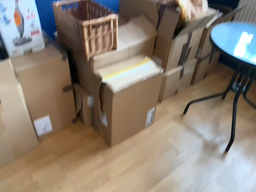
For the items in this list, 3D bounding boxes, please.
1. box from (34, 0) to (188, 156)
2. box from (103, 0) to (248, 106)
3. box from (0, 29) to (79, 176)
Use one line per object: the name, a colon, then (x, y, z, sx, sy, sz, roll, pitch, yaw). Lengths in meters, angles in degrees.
box: (-0.150, -0.220, 1.570, 0.610, 0.820, 0.770, -26, 48, -31)
box: (0.410, -0.610, 2.070, 1.020, 0.790, 0.780, -26, 48, -31)
box: (-0.730, 0.010, 1.410, 0.520, 0.620, 0.570, -26, 49, -31)
